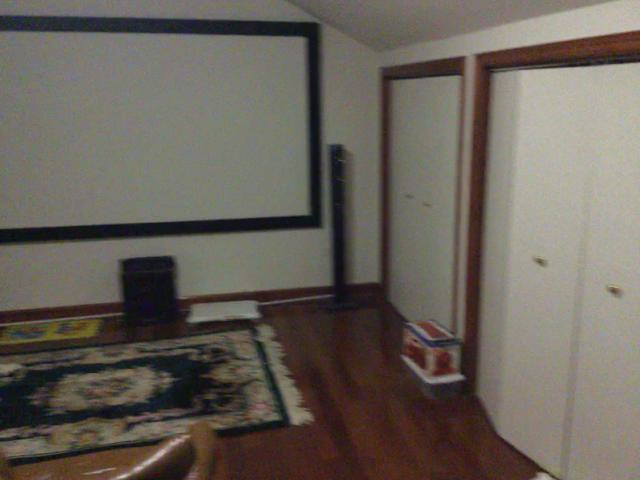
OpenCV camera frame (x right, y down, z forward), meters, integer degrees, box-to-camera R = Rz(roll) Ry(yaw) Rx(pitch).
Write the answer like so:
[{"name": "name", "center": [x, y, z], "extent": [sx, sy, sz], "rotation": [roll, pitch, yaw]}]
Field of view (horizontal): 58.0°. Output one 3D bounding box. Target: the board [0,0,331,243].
[{"name": "board", "center": [-1.060, -0.760, 3.640], "extent": [2.240, 1.500, 0.180], "rotation": [-2, 16, -9]}]
